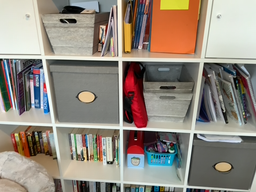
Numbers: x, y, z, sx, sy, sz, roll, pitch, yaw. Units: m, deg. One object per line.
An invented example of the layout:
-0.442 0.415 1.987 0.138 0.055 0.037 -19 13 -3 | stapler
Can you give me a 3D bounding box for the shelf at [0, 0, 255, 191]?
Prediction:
-0.030 0.080 1.250 1.520 1.470 0.430 3 24 5 | shelf
